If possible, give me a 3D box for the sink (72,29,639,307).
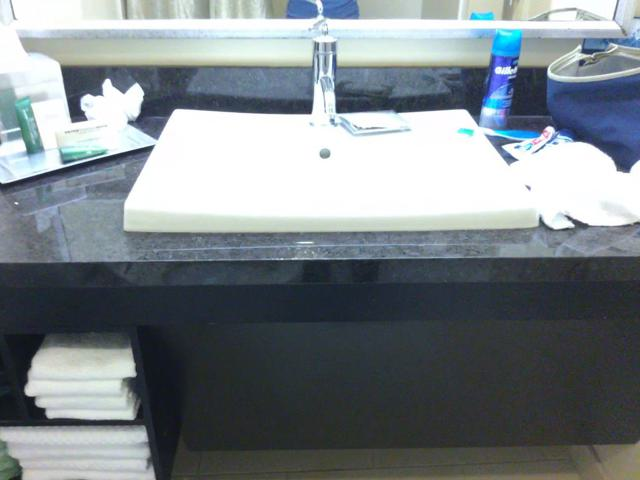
[{"bbox_3d":[0.070,-0.160,0.980,0.750,0.290,0.490,-1,30,-3],"label":"sink"}]

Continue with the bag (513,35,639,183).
[{"bbox_3d":[0.540,-0.240,1.020,0.290,0.190,0.240,-1,30,-3],"label":"bag"}]
